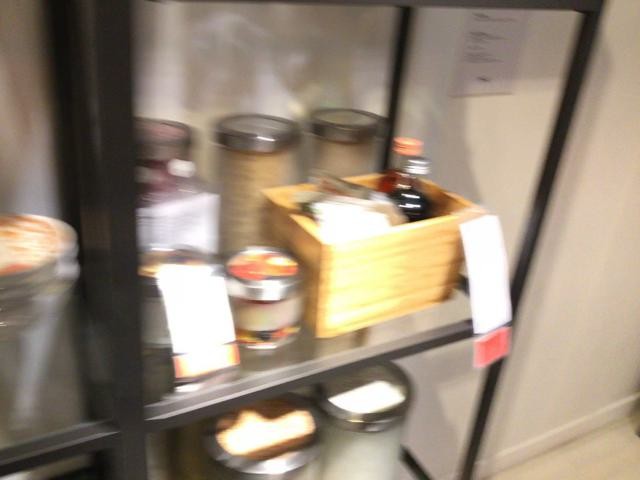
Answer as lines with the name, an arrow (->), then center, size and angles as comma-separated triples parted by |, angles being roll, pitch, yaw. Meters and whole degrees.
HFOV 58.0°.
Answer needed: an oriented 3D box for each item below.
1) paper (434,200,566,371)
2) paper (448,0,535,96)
paper -> 0.240, 0.060, 0.790 | 0.100, 0.200, 0.090 | -9, 29, -27
paper -> 0.300, -0.340, 1.010 | 0.150, 0.170, 0.010 | -9, 29, -27
